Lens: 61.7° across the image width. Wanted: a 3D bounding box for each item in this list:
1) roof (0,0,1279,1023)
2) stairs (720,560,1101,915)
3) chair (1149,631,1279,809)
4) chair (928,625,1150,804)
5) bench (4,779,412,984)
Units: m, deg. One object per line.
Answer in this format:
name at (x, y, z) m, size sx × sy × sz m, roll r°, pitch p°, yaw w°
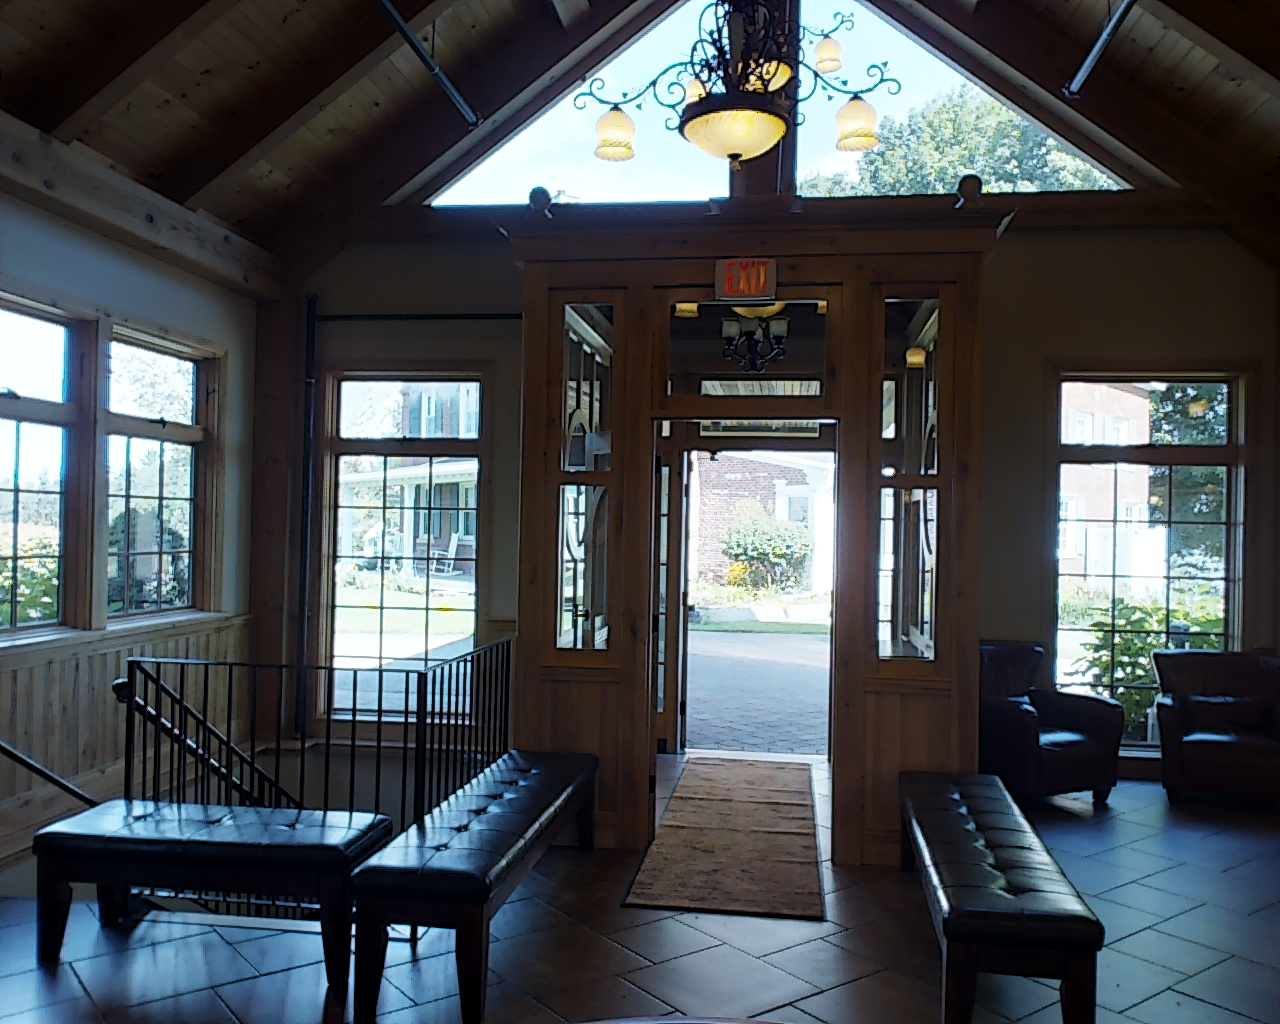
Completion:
roof at (1.620, -1.750, 4.190) m, size 8.931 × 15.388 × 4.470 m, roll 1°, pitch -1°, yaw -38°
stairs at (1.320, 0.980, 5.370) m, size 1.160 × 1.410 × 1.420 m, roll 1°, pitch -1°, yaw -37°
chair at (3.650, 1.260, 6.690) m, size 0.810 × 0.900 × 0.980 m, roll 1°, pitch -1°, yaw 23°
chair at (2.440, 1.200, 6.590) m, size 1.020 × 0.910 × 0.770 m, roll 1°, pitch -1°, yaw -24°
bench at (-1.560, 1.330, 3.960) m, size 1.280 × 0.490 × 0.560 m, roll 1°, pitch -1°, yaw 8°
